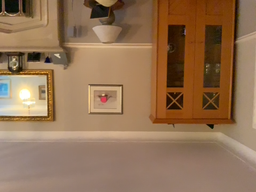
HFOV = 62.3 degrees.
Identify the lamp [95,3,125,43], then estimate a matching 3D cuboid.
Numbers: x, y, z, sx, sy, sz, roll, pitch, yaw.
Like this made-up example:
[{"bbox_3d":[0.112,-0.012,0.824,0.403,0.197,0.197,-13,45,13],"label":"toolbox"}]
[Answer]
[{"bbox_3d":[-0.220,-0.930,2.750,0.360,0.440,0.300,0,-175,1],"label":"lamp"}]
